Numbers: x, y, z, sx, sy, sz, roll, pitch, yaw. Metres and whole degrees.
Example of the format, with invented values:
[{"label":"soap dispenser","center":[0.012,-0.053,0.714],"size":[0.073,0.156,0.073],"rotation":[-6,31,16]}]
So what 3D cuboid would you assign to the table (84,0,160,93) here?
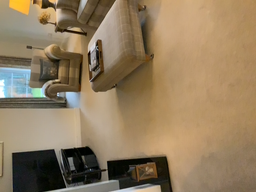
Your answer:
[{"label":"table","center":[-0.170,-0.590,2.720],"size":[1.220,0.380,0.790],"rotation":[-29,64,57]}]

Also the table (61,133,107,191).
[{"label":"table","center":[-0.830,1.220,3.760],"size":[1.120,0.420,0.600],"rotation":[40,123,54]}]

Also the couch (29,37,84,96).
[{"label":"couch","center":[-1.660,-0.640,4.770],"size":[1.090,0.930,1.110],"rotation":[19,106,59]}]
